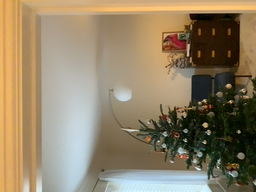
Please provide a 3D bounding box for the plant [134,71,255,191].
[{"bbox_3d":[0.920,0.430,2.460,1.070,1.650,1.300,1,-90,-87],"label":"plant"}]
